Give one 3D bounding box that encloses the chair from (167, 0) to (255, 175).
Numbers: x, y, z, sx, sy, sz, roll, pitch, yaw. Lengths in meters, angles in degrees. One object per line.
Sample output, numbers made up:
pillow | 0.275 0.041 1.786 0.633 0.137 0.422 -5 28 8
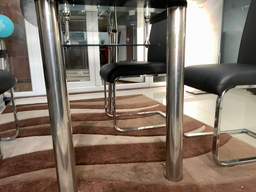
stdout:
chair | 0.610 -0.190 1.130 0.650 0.990 0.460 -3 13 -9
